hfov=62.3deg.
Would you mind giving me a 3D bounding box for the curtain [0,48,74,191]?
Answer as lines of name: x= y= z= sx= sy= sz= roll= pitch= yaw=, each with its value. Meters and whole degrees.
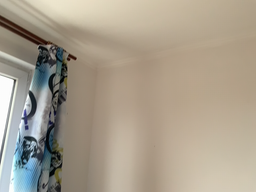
curtain: x=-0.640 y=0.500 z=1.350 sx=0.330 sy=1.580 sz=0.270 roll=-6 pitch=-17 yaw=25
